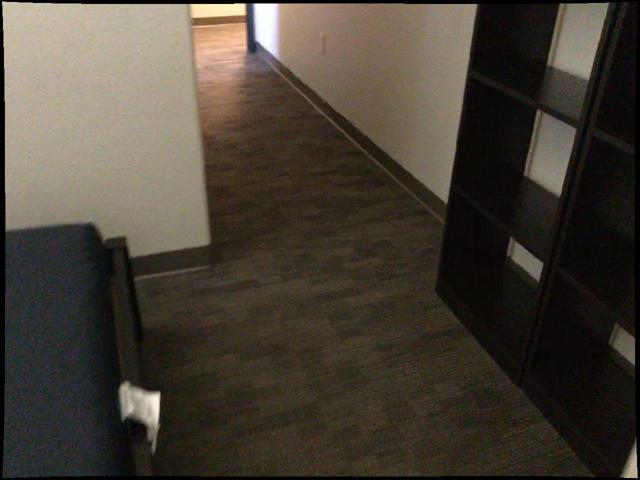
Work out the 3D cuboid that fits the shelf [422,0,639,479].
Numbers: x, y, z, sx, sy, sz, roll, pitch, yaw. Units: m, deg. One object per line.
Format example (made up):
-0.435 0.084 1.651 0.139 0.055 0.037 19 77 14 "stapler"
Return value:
0.759 -0.140 1.520 0.380 1.191 1.090 -11 33 -18 "shelf"
